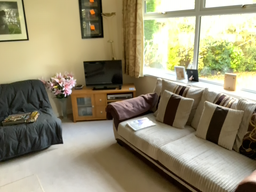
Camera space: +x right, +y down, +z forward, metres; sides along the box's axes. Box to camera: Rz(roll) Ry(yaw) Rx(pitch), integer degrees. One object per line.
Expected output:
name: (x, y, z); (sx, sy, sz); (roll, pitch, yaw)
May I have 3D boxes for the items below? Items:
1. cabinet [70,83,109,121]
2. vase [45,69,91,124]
cabinet: (-0.670, 0.100, 3.860); (0.600, 0.540, 0.450); (-2, 19, -2)
vase: (-1.050, -0.020, 3.740); (0.570, 0.780, 0.510); (-14, 23, -32)
